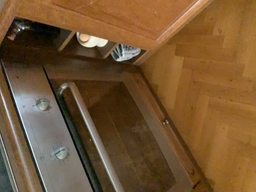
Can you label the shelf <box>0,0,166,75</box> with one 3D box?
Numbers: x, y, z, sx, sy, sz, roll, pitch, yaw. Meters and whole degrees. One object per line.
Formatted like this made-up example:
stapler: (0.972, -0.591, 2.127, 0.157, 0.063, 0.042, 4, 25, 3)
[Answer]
shelf: (-0.130, -0.220, 0.930, 0.140, 0.890, 0.160, -38, 70, 32)
